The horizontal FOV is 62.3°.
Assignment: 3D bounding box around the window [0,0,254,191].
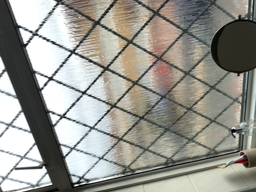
[{"bbox_3d":[-0.080,-0.050,0.810,0.060,1.130,0.860,-112,12,-67],"label":"window"}]
